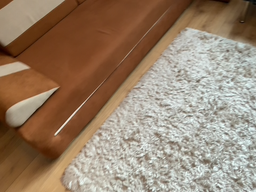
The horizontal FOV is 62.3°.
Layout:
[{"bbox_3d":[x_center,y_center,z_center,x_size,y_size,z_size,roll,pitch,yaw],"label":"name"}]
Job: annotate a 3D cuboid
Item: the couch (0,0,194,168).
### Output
[{"bbox_3d":[-0.350,-0.670,1.730,0.970,0.780,2.060,26,64,26],"label":"couch"}]
